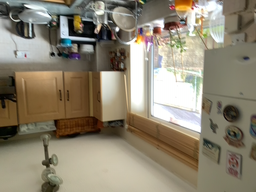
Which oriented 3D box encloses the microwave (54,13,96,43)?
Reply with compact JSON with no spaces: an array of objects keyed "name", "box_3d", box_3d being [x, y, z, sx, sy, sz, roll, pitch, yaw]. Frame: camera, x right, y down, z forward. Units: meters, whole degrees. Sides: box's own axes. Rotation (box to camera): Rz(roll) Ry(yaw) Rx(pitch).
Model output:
[{"name":"microwave","box_3d":[-0.650,-0.810,2.590,0.410,0.270,0.340,-5,-171,-30]}]
